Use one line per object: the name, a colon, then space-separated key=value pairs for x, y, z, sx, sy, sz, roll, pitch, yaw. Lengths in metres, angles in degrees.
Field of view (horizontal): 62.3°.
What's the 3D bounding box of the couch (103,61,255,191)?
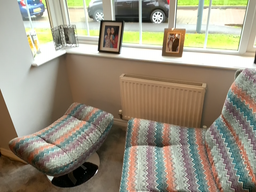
couch: x=0.390 y=0.350 z=1.230 sx=0.870 sy=0.840 sz=0.850 roll=1 pitch=30 yaw=4
